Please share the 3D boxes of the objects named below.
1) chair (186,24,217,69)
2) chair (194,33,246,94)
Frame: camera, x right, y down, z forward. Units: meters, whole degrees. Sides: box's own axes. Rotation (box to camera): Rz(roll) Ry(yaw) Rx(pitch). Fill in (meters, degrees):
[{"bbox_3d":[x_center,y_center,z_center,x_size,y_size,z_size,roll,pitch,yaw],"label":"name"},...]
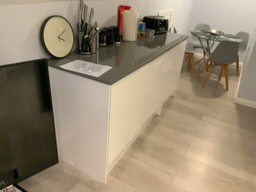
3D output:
[{"bbox_3d":[1.510,-1.040,4.440,0.400,0.770,0.470,9,28,6],"label":"chair"},{"bbox_3d":[1.450,-0.540,3.460,0.460,0.810,0.520,8,28,4],"label":"chair"}]
